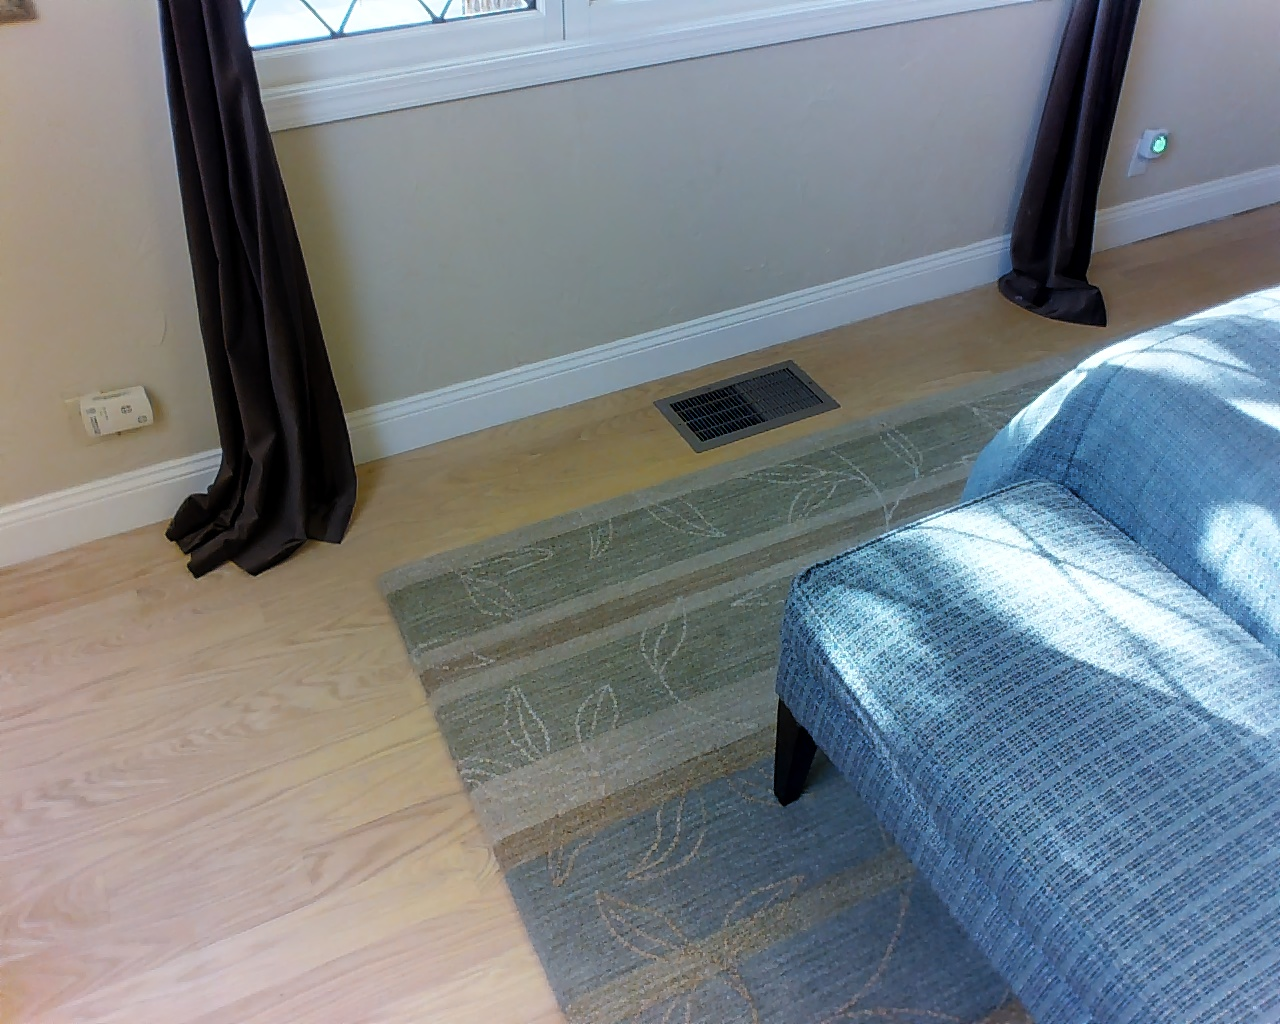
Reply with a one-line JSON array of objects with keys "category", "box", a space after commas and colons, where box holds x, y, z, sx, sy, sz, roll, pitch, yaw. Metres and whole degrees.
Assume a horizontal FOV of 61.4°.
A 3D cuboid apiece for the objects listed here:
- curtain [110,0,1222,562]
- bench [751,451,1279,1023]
[{"category": "curtain", "box": [0.240, -1.120, 1.980, 2.300, 2.200, 0.250, -18, 45, -19]}, {"category": "bench", "box": [0.760, 0.630, 1.260, 0.580, 0.560, 1.420, -18, 45, -19]}]
